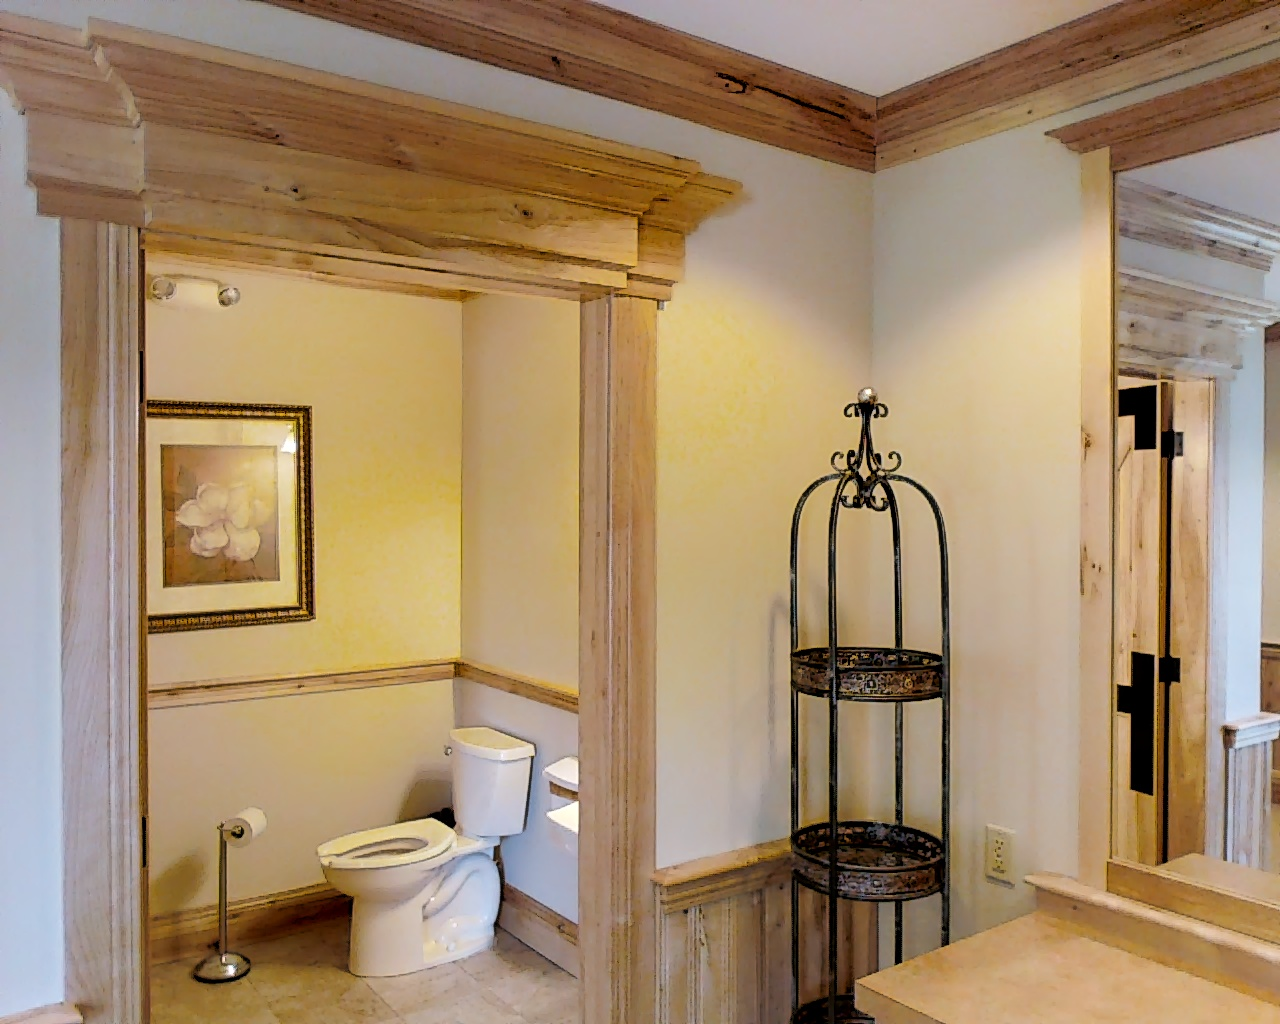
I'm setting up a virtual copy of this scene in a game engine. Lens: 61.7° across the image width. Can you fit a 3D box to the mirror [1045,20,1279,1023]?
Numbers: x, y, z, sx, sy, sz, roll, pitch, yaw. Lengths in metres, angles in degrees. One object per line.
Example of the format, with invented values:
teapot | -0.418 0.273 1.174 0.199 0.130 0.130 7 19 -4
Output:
mirror | 1.280 0.030 1.710 0.080 1.760 1.340 -1 1 -36
